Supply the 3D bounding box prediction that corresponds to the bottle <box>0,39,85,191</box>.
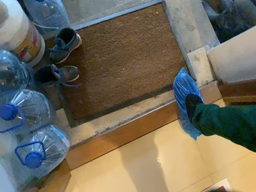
[{"bbox_3d":[-0.310,0.080,0.800,0.090,0.350,0.490,-23,92,-8],"label":"bottle"}]
